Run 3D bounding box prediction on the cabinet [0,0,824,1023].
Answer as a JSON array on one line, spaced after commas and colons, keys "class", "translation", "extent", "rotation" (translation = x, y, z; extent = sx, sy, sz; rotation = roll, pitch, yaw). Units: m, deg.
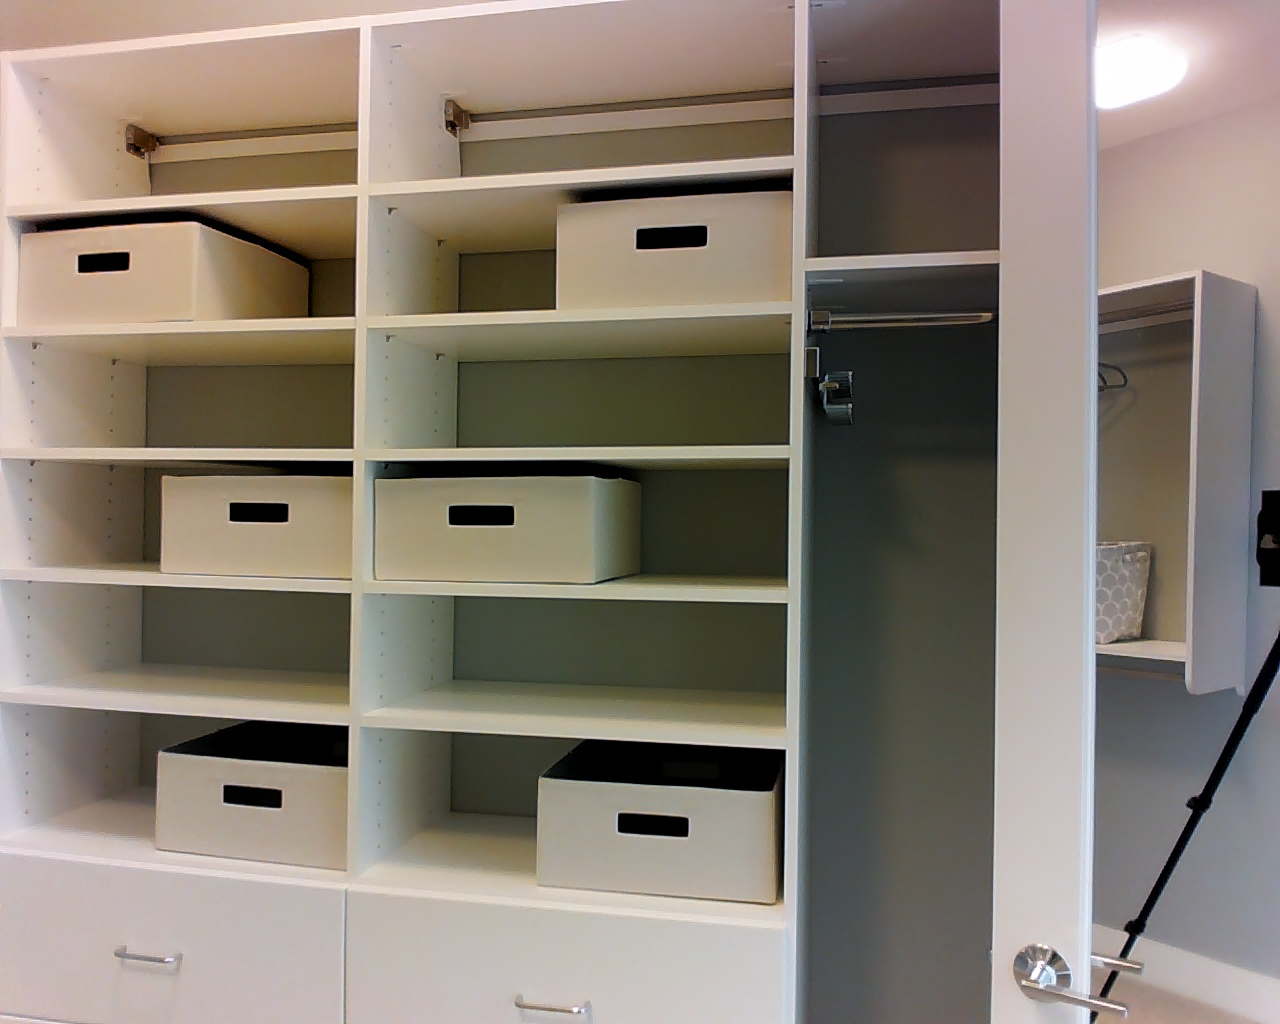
[{"class": "cabinet", "translation": [-0.400, 0.330, 1.750], "extent": [1.359, 2.291, 0.440], "rotation": [0, -1, 13]}]
